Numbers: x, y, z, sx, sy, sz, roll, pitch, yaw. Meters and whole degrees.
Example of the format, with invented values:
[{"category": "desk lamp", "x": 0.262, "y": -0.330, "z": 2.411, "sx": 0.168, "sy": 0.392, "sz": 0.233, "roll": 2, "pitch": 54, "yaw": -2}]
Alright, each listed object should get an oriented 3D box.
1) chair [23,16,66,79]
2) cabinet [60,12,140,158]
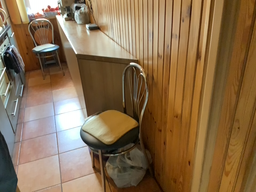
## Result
[{"category": "chair", "x": -1.400, "y": -0.840, "z": 3.650, "sx": 0.460, "sy": 0.920, "sz": 0.440, "roll": -11, "pitch": 30, "yaw": -14}, {"category": "cabinet", "x": -0.510, "y": -0.450, "z": 2.720, "sx": 0.430, "sy": 0.860, "sz": 2.510, "roll": -12, "pitch": 30, "yaw": -15}]
